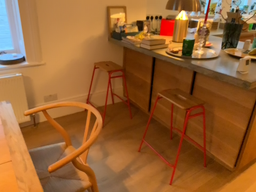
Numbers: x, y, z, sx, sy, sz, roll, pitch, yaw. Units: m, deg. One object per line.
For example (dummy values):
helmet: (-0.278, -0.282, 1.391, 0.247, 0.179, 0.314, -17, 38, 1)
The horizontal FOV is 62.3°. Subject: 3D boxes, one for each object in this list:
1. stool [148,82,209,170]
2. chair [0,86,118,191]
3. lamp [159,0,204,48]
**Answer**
stool: (0.420, 0.250, 1.880, 0.270, 0.640, 0.350, -13, 29, -30)
chair: (-0.460, 0.430, 1.290, 0.600, 0.760, 0.520, -13, 29, -30)
lamp: (0.580, -0.860, 2.320, 0.240, 0.570, 0.350, -14, 30, -31)
